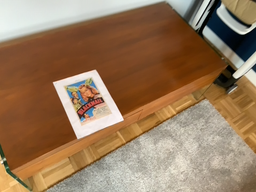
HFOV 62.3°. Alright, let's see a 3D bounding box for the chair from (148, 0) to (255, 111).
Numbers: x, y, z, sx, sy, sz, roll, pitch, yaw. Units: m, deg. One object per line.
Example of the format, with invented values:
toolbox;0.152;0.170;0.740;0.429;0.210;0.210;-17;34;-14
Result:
chair;0.700;-0.550;1.280;0.650;1.170;0.610;-23;65;-25
